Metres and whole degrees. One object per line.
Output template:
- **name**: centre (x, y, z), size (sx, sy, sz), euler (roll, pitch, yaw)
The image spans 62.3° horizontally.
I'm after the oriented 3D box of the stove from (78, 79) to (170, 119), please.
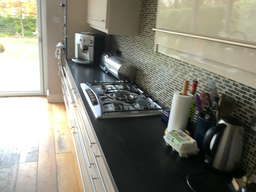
- **stove**: centre (-0.080, -0.010, 1.660), size (0.530, 0.040, 0.700), euler (-1, 22, -21)
